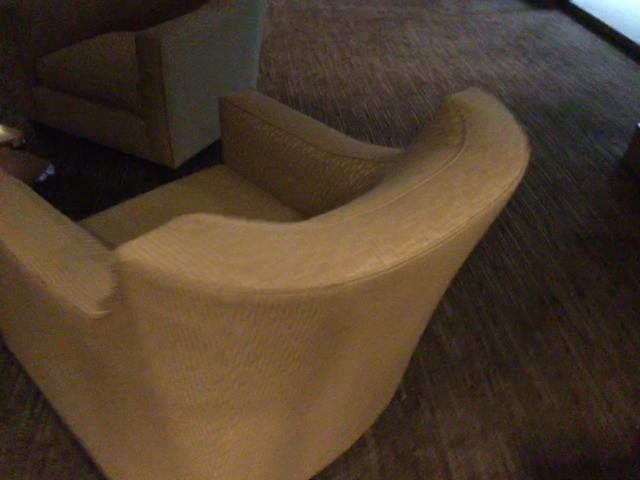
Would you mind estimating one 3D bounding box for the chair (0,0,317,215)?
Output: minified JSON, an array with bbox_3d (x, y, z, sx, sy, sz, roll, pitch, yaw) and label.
[{"bbox_3d":[-0.690,-0.880,2.460,0.960,0.890,1.070,21,38,16],"label":"chair"}]
